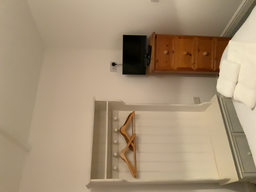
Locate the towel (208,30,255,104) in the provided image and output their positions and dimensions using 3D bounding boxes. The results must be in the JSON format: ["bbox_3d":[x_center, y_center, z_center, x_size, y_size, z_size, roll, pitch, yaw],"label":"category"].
[{"bbox_3d":[0.750,-0.220,1.500,0.360,0.130,0.450,-107,18,-70],"label":"towel"}]
